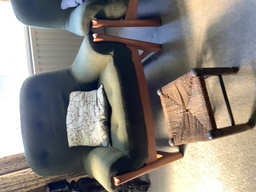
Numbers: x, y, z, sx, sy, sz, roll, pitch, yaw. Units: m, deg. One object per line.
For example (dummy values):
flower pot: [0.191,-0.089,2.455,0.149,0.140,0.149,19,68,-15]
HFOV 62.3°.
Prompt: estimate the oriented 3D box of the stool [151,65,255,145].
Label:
stool: [0.320,0.050,0.950,0.310,0.250,0.270,-31,68,60]
